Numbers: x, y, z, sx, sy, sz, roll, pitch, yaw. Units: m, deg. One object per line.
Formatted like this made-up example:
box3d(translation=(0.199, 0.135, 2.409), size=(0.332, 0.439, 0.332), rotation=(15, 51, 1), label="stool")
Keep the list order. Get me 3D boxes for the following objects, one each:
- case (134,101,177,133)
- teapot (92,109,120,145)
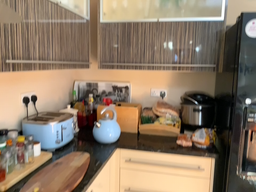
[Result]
box3d(translation=(0.240, 0.170, 1.820), size=(0.330, 0.190, 0.270), rotation=(3, 9, 11), label="case")
box3d(translation=(-0.150, 0.210, 1.480), size=(0.180, 0.210, 0.150), rotation=(1, 9, 1), label="teapot")
